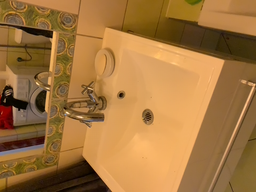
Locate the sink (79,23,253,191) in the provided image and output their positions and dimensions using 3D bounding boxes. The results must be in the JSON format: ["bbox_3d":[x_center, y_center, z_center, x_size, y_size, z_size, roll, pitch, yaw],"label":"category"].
[{"bbox_3d":[0.050,0.100,0.790,0.510,0.150,0.620,32,116,43],"label":"sink"}]
